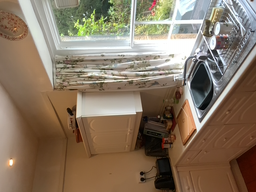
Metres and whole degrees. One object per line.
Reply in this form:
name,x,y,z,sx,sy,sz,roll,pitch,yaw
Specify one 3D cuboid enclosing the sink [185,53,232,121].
sink,0.660,-0.070,1.820,0.380,0.130,0.440,97,169,-55
